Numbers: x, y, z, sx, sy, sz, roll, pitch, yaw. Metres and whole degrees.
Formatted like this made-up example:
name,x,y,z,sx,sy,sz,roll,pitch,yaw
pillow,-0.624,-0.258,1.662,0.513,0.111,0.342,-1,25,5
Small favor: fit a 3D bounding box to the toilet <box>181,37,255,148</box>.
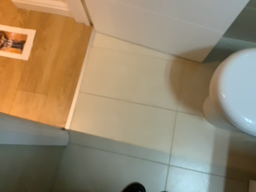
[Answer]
name,x,y,z,sx,sy,sz,roll,pitch,yaw
toilet,0.580,0.040,1.000,0.500,0.470,0.350,12,78,4
